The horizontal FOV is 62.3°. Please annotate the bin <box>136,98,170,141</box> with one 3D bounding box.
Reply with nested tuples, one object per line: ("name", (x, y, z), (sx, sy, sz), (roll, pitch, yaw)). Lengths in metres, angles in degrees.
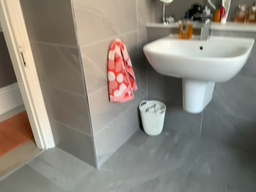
("bin", (0.220, 0.200, 1.850), (0.210, 0.260, 0.210), (14, 30, 31))
